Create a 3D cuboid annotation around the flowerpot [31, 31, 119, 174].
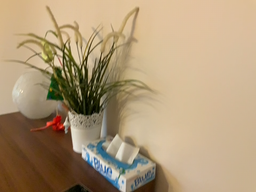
[{"bbox_3d":[-0.180,0.000,0.720,0.190,0.410,0.210,-11,21,-41],"label":"flowerpot"}]
